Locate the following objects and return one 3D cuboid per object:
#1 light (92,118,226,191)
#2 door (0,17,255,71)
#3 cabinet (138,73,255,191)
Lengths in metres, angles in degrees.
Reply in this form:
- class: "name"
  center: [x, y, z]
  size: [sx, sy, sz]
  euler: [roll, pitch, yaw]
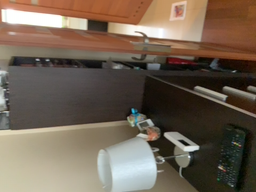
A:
- class: "light"
  center: [0.140, 0.280, 0.990]
  size: [0.230, 0.550, 0.260]
  euler: [-147, 59, -61]
- class: "door"
  center: [-0.080, -0.420, 1.650]
  size: [1.120, 2.150, 0.150]
  euler: [-142, 55, -60]
- class: "cabinet"
  center: [0.750, 0.260, 1.220]
  size: [0.850, 1.050, 0.600]
  euler: [-146, 59, -61]
